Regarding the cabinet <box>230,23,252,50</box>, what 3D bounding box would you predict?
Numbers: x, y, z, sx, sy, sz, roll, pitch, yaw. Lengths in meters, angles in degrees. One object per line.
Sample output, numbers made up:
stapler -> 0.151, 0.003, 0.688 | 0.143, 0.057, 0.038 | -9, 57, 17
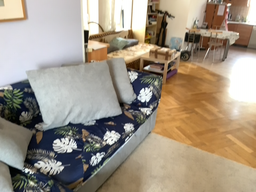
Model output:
cabinet -> 4.300, -2.280, 8.060 | 0.490, 0.860, 0.600 | 18, 28, 27
